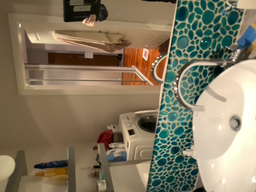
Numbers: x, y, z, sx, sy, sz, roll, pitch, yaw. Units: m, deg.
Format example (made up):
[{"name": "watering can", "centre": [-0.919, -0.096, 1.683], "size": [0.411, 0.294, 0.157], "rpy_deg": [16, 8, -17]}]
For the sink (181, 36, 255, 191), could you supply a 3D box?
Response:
[{"name": "sink", "centre": [0.410, 0.120, 0.810], "size": [0.380, 0.130, 0.610], "rpy_deg": [-121, 33, -61]}]
